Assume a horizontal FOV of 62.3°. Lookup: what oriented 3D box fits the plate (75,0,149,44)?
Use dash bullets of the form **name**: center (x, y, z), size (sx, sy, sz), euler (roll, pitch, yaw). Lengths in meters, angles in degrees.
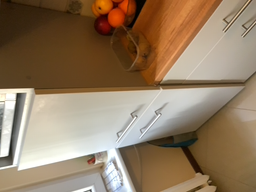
- **plate**: center (-0.080, -0.390, 0.930), size (0.220, 0.200, 0.200), euler (-57, 49, 39)
